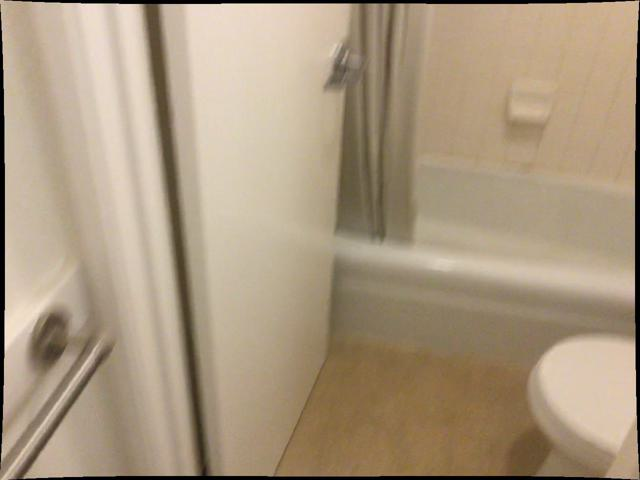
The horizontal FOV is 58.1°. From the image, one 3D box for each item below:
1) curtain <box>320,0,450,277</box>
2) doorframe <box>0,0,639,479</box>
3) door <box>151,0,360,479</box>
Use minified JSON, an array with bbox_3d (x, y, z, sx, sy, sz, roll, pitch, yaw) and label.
[{"bbox_3d":[0.180,-0.571,1.440,0.270,1.512,0.170,9,35,8],"label":"curtain"},{"bbox_3d":[0.080,0.240,0.890,0.849,1.462,0.180,9,35,8],"label":"doorframe"},{"bbox_3d":[-0.060,-0.230,1.110,0.060,1.962,0.740,13,36,14],"label":"door"}]
